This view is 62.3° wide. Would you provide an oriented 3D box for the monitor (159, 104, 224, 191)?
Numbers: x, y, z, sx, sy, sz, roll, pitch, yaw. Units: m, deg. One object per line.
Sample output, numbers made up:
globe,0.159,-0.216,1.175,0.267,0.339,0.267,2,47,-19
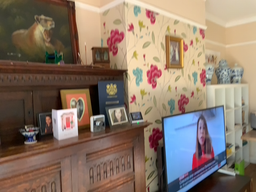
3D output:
monitor,0.710,0.510,2.160,0.050,0.750,1.200,0,3,45
